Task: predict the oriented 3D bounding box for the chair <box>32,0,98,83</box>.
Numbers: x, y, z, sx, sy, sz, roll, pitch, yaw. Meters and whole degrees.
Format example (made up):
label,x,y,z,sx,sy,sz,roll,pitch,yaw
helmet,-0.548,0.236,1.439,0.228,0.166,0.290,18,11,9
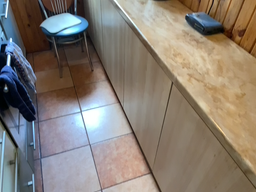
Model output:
label,x,y,z,sx,sy,sz,roll,pitch,yaw
chair,-0.610,-0.680,2.040,0.430,0.780,0.690,-14,46,-16
